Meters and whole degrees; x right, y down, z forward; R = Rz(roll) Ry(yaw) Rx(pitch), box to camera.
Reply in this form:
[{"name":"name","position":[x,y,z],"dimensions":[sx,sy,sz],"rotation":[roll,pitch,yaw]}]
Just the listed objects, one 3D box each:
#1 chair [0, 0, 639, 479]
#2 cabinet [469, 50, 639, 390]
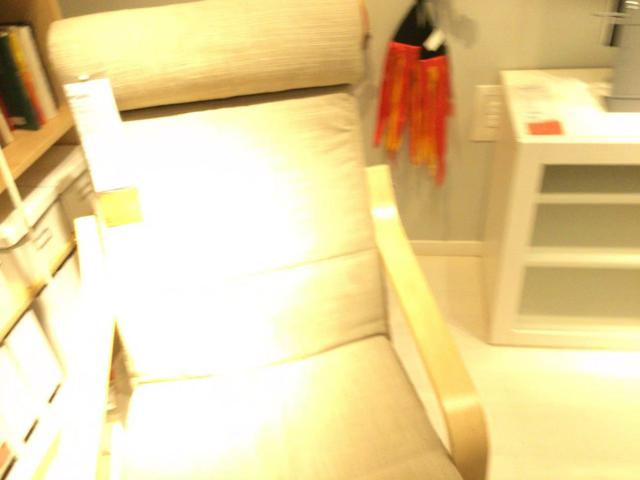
[{"name":"chair","position":[-0.130,0.160,1.070],"dimensions":[0.830,1.070,0.910],"rotation":[-14,32,-3]},{"name":"cabinet","position":[1.340,-0.090,1.380],"dimensions":[1.850,0.720,0.500],"rotation":[-4,33,13]}]
